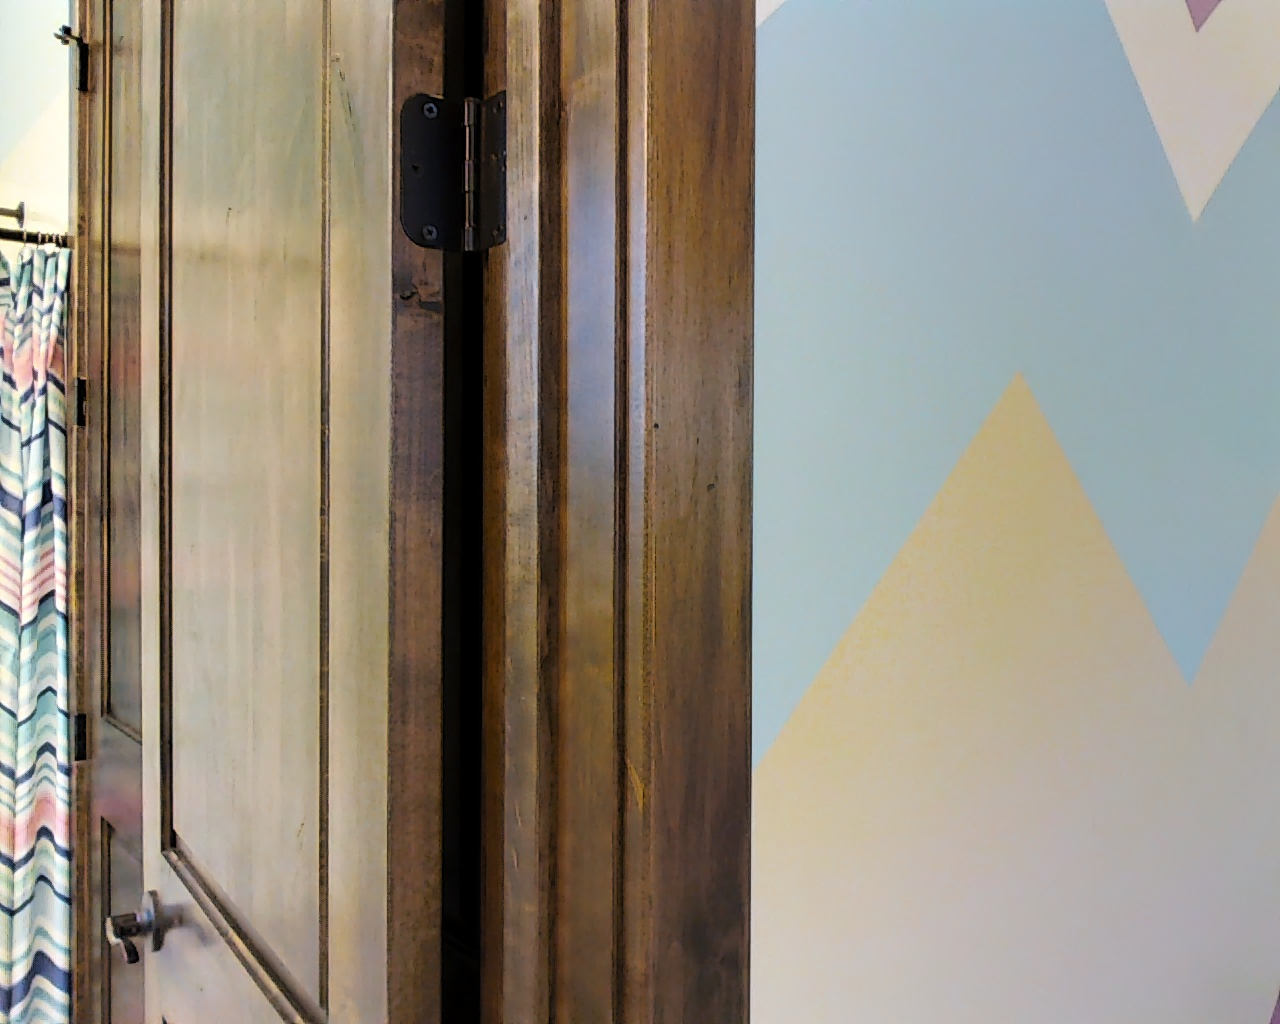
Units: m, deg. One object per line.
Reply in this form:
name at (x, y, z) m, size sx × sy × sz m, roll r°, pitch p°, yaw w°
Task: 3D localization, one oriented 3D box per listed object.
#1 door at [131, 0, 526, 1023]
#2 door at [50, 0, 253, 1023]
door at (-0.340, 0.140, 0.980) m, size 0.100 × 2.390 × 0.830 m, roll -1°, pitch 1°, yaw -33°
door at (-0.820, 0.140, 1.740) m, size 0.060 × 2.420 × 0.900 m, roll -1°, pitch 2°, yaw -39°
